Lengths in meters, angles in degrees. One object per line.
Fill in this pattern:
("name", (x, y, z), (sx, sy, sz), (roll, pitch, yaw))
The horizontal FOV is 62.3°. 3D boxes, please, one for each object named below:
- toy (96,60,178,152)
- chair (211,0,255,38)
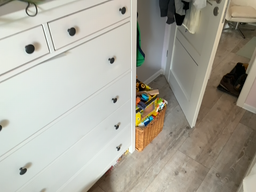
("toy", (0.070, 0.070, 1.890), (0.550, 0.510, 0.390), (29, 48, 30))
("chair", (1.910, -1.470, 3.480), (0.770, 0.710, 0.790), (4, 40, 5))
